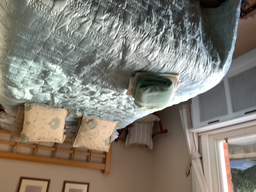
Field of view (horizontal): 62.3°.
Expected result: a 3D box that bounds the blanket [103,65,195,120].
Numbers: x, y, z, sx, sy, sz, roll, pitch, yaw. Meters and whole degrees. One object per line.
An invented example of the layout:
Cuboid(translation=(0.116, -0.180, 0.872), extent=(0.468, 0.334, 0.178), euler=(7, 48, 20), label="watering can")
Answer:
Cuboid(translation=(0.140, 0.010, 1.530), extent=(0.450, 0.140, 0.480), euler=(20, 152, -32), label="blanket")

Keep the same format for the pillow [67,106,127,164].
Cuboid(translation=(-0.360, 0.430, 2.450), extent=(0.480, 0.460, 0.200), euler=(-23, 155, -41), label="pillow")

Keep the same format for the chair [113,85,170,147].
Cuboid(translation=(0.220, 0.340, 3.260), extent=(0.690, 0.730, 0.480), euler=(17, 154, -28), label="chair")

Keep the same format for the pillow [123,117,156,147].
Cuboid(translation=(0.170, 0.550, 3.230), extent=(0.410, 0.370, 0.190), euler=(-6, 157, -12), label="pillow")

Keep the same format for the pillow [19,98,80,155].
Cuboid(translation=(-0.800, 0.290, 2.150), extent=(0.410, 0.410, 0.220), euler=(-19, 154, -43), label="pillow")
